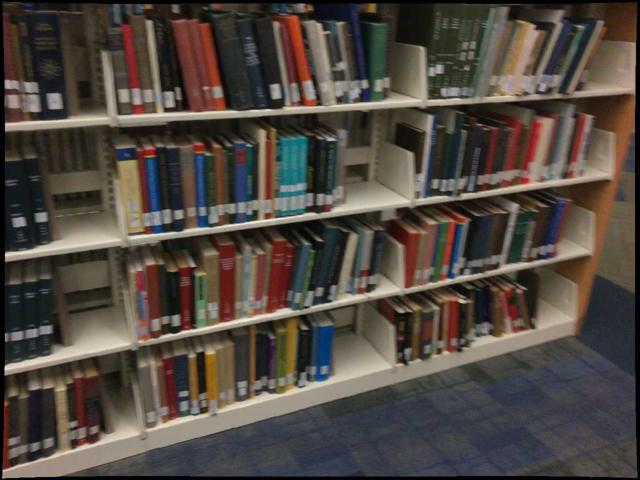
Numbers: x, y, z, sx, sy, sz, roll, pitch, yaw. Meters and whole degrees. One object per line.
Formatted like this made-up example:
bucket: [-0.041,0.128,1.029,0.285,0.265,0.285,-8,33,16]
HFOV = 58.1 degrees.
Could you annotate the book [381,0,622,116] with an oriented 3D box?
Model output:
book: [0.618,-0.642,1.970,0.778,0.331,0.250,-10,26,-23]

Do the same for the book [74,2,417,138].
book: [-0.190,-0.521,1.680,0.918,0.311,0.270,-10,26,-23]

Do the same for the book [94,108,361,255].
book: [-0.279,-0.211,1.800,0.738,0.291,0.320,-10,26,-23]

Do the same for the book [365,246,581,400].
book: [0.618,0.311,2.320,0.878,0.391,0.190,-10,26,-23]

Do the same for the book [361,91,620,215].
book: [0.638,-0.351,2.150,0.938,0.311,0.280,-10,26,-23]

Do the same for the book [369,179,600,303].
book: [0.648,-0.020,2.250,0.908,0.281,0.220,-10,26,-23]

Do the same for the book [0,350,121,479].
book: [-1.107,0.612,1.640,0.978,0.331,0.170,-10,26,-23]

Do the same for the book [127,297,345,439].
book: [-0.269,0.421,1.980,0.709,0.271,0.160,-10,26,-23]

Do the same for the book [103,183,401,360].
book: [-0.209,0.070,1.950,0.918,0.341,0.310,-10,26,-23]
